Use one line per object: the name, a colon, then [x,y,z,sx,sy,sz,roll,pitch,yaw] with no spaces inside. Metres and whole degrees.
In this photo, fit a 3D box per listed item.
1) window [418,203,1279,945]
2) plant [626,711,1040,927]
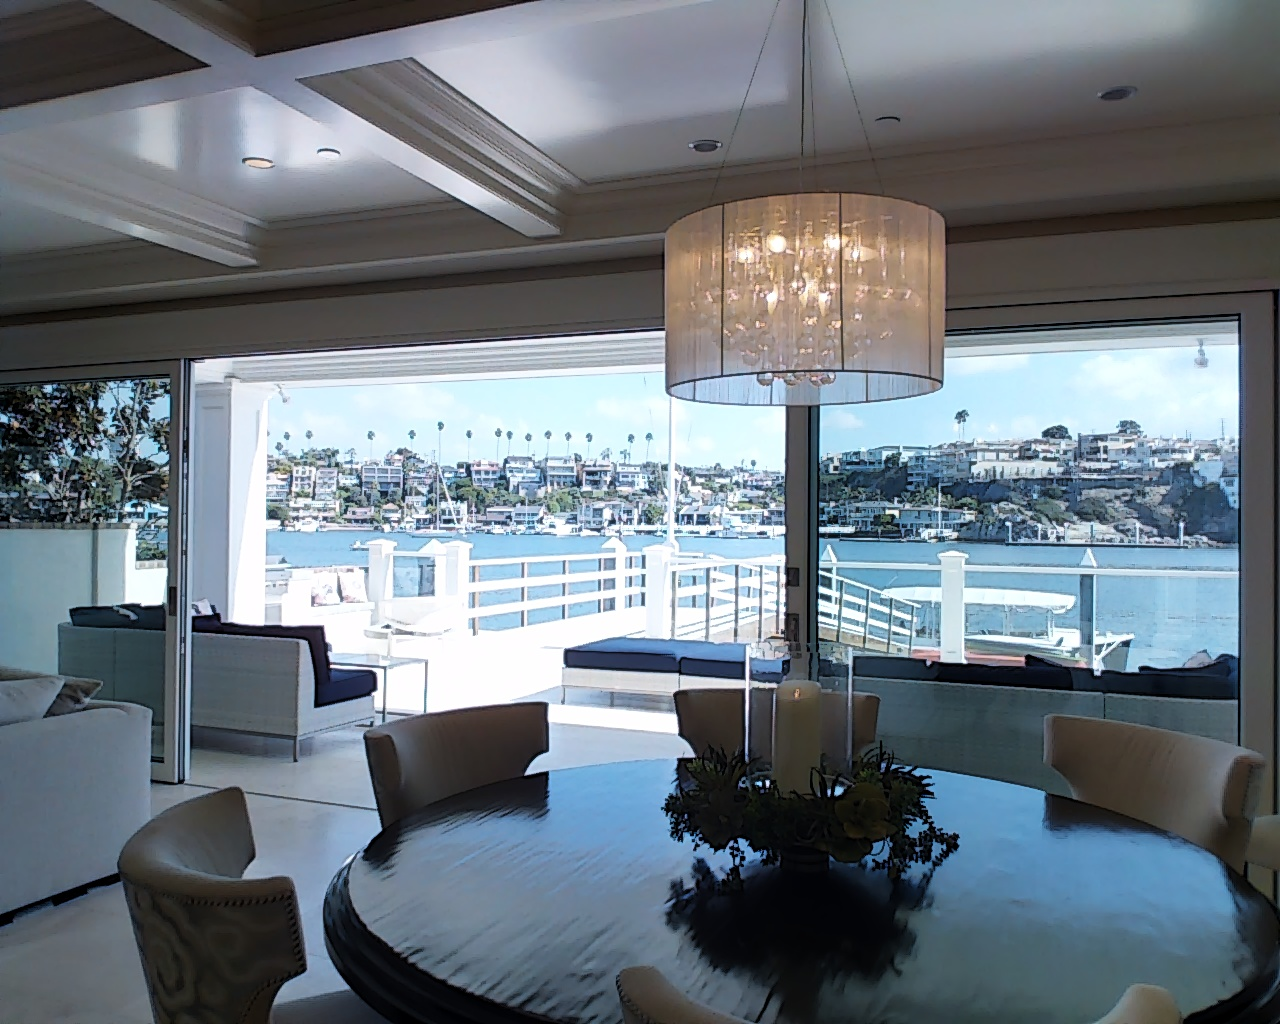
window: [0.850,0.220,4.700,4.068,2.711,0.320,0,-1,22]
plant: [0.410,0.630,2.350,0.680,0.240,0.580,1,-1,-31]
